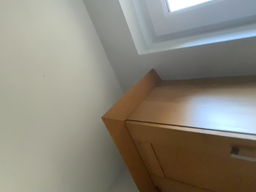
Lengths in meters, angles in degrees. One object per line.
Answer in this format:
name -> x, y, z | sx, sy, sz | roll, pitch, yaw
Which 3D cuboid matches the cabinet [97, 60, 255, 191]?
cabinet -> 0.380, 0.220, 0.960 | 0.450, 0.770, 0.590 | -44, -59, -39
